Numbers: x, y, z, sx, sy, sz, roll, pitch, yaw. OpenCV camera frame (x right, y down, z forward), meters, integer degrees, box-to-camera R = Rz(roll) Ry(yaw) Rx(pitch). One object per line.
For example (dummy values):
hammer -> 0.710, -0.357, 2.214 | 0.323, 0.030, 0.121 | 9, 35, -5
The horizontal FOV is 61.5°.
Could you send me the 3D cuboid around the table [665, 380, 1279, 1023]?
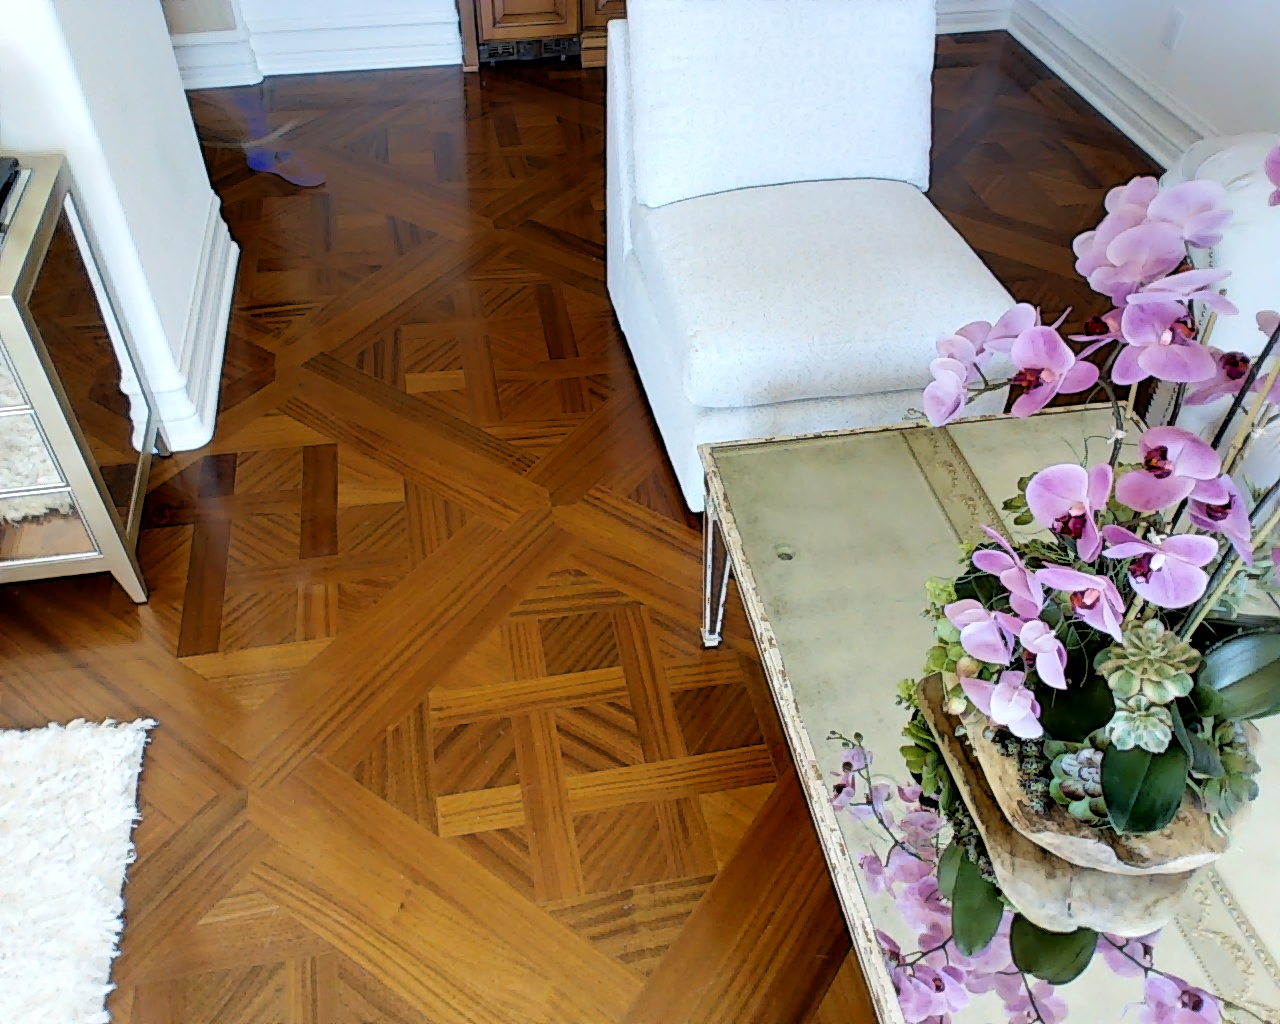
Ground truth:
table -> 0.620, 0.470, 1.510 | 0.860, 0.480, 1.380 | -8, 45, -9
